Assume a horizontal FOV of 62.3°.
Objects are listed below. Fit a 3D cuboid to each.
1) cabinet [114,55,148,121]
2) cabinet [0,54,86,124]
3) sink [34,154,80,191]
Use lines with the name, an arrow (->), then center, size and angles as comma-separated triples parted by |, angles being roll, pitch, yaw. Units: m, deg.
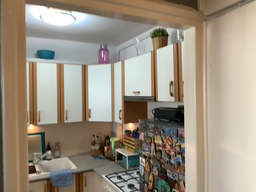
cabinet -> 0.030, -0.090, 2.470 | 0.310, 0.710, 0.250 | -1, 1, -29
cabinet -> -1.030, -0.080, 2.490 | 1.000, 0.720, 0.310 | -1, 1, -29
sink -> -0.830, 0.850, 2.440 | 0.410, 0.190, 0.490 | -1, 1, -29
